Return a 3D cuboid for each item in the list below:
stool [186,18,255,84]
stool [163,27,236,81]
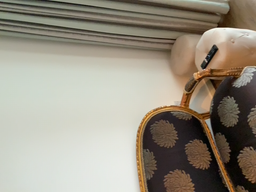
[{"bbox_3d":[0.790,-0.350,1.650,0.390,0.440,0.390,-121,35,-58],"label":"stool"},{"bbox_3d":[0.660,-0.410,2.050,0.380,0.450,0.400,-121,35,-58],"label":"stool"}]
